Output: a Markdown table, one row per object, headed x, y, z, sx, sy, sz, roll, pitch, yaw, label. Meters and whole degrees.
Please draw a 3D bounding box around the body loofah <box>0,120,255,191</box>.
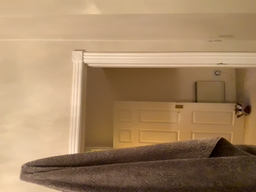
| x | y | z | sx | sy | sz | roll | pitch | yaw | label |
| --- | --- | --- | --- | --- | --- | --- | --- | --- | --- |
| 0.150 | 0.320 | 0.760 | 0.380 | 1.230 | 0.410 | 78 | -167 | -77 | body loofah |
